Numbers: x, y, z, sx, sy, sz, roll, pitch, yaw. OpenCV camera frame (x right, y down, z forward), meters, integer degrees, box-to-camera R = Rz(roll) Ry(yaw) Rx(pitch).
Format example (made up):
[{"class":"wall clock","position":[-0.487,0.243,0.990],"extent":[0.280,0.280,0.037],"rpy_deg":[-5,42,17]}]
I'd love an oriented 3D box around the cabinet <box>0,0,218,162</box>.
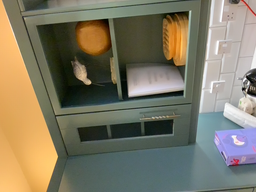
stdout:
[{"class":"cabinet","position":[-0.050,-0.100,1.160],"extent":[0.340,0.840,0.850],"rpy_deg":[-96,0,-58]}]
